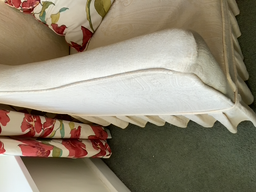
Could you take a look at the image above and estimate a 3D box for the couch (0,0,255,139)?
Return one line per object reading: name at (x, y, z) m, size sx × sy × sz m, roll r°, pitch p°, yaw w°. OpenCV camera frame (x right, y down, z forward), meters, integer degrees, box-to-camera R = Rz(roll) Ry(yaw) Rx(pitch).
couch at (-0.100, -0.240, 0.670) m, size 0.840 × 0.830 × 0.650 m, roll -11°, pitch 72°, yaw 32°
